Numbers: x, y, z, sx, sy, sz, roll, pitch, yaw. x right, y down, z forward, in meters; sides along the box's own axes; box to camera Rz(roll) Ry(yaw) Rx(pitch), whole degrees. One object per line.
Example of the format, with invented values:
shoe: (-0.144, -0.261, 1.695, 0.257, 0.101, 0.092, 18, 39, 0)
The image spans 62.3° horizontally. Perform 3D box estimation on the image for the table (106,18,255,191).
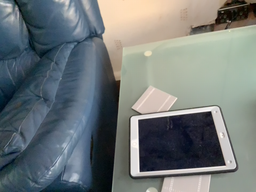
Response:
table: (0.320, 0.140, 0.810, 0.630, 0.500, 0.640, -6, 52, 12)
